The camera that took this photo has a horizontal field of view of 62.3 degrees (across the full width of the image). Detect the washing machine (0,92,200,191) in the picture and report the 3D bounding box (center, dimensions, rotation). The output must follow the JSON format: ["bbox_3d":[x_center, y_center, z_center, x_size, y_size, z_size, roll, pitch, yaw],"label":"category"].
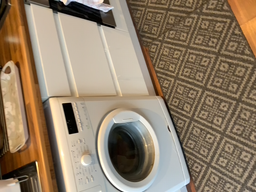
[{"bbox_3d":[-0.170,0.380,1.280,0.660,0.910,0.590,-30,70,40],"label":"washing machine"}]
